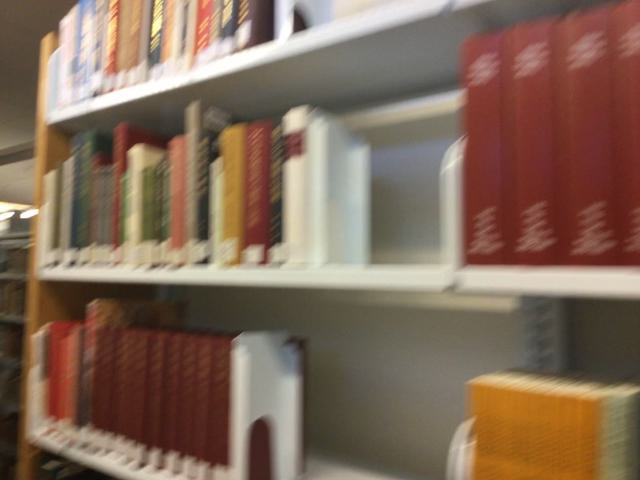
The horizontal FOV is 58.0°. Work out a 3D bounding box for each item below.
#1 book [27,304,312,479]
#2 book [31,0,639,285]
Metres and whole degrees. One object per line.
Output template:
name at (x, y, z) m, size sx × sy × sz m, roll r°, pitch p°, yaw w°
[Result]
book at (-0.300, 0.250, 1.040) m, size 0.600 × 0.230 × 0.150 m, roll 0°, pitch -4°, yaw 38°
book at (-0.070, -0.090, 0.920) m, size 1.160 × 0.280 × 0.200 m, roll 0°, pitch -4°, yaw 38°
